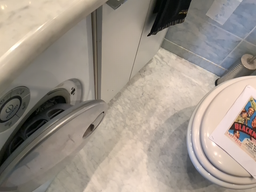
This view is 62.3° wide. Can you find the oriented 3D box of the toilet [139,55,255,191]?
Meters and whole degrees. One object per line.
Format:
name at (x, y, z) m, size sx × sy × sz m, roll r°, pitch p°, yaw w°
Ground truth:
toilet at (0.530, 0.080, 0.840) m, size 0.760 × 0.840 × 0.390 m, roll -35°, pitch 76°, yaw -21°
